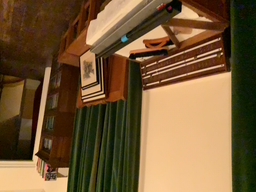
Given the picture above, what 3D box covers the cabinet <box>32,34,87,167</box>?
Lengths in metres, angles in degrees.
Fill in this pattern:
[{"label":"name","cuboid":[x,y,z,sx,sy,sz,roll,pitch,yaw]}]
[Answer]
[{"label":"cabinet","cuboid":[-1.180,0.100,3.580,0.380,1.920,1.090,10,169,-31]}]
